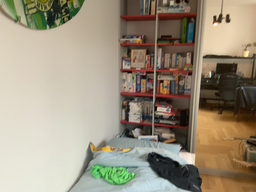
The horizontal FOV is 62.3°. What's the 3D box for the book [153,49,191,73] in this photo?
[{"bbox_3d":[0.610,-0.500,2.960,0.490,0.310,0.170,3,13,12],"label":"book"}]
